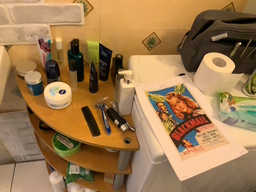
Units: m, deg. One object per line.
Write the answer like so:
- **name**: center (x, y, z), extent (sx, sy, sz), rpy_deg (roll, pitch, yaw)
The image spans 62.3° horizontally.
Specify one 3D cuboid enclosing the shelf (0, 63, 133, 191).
- **shelf**: center (-0.240, 0.270, 0.980), extent (0.360, 0.770, 0.370), rpy_deg (-3, 49, -12)
